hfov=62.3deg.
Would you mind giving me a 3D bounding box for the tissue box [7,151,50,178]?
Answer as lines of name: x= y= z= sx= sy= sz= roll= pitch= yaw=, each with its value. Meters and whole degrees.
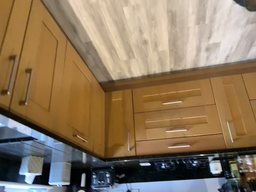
tissue box: x=-0.750 y=0.530 z=1.620 sx=0.160 sy=0.160 sz=0.240 roll=-11 pitch=154 yaw=16
